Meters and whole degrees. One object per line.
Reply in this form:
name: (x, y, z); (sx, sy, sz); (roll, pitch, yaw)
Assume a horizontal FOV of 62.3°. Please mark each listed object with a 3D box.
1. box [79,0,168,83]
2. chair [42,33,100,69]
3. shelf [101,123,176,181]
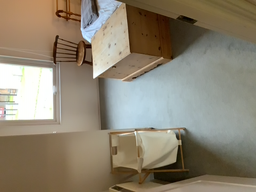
box: (-0.110, -0.570, 2.610); (0.950, 0.630, 0.560); (-21, 72, 54)
chair: (-0.960, -0.730, 3.570); (0.490, 0.810, 0.460); (15, 101, 55)
shelf: (0.100, 0.540, 2.240); (0.530, 0.560, 0.470); (-11, 80, 55)
